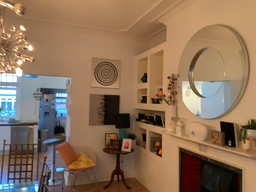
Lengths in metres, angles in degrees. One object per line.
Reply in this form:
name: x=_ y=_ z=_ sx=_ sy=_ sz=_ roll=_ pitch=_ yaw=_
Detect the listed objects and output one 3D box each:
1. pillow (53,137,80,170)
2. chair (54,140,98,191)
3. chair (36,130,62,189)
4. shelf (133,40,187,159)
pillow: x=-1.100 y=1.030 z=3.850 sx=0.160 sy=0.390 sz=0.440 roll=-32 pitch=10 yaw=9
chair: x=-0.920 y=1.270 z=3.810 sx=0.580 sy=0.820 sz=0.520 roll=1 pitch=-1 yaw=17
chair: x=-1.540 y=1.200 z=4.150 sx=0.430 sy=0.970 sz=0.490 roll=1 pitch=-1 yaw=-21
shelf: x=0.550 y=0.060 z=4.090 sx=0.410 sy=1.900 sz=1.330 roll=1 pitch=-1 yaw=-20
